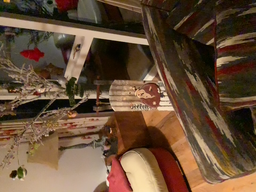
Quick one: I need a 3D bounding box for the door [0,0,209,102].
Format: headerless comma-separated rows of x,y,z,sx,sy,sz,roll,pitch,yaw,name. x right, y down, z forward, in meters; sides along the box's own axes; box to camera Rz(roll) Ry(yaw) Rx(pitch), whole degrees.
-0.490,-0.400,1.910,1.600,1.900,0.080,-52,48,48,door

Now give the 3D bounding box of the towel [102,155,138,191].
-0.100,0.970,2.220,0.480,0.100,0.470,41,126,52,towel

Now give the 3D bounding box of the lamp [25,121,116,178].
-0.670,0.600,2.440,0.480,0.890,0.370,-52,48,48,lamp
